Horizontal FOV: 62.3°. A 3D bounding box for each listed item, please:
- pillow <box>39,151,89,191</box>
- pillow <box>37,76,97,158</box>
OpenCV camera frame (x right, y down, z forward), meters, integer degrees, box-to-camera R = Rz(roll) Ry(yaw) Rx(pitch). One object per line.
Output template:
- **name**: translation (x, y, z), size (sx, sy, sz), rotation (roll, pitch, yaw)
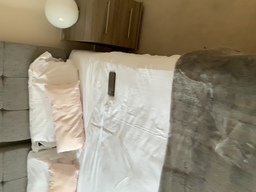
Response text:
- **pillow**: translation (-0.560, 0.790, 1.730), size (0.190, 0.250, 0.620), rotation (11, 82, 37)
- **pillow**: translation (-0.460, 0.170, 1.650), size (0.110, 0.270, 0.580), rotation (11, 80, 35)
